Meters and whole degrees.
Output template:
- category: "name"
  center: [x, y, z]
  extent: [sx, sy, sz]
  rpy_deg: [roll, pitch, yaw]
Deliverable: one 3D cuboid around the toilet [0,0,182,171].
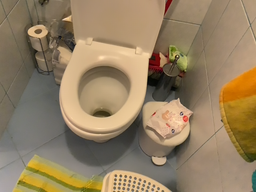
- category: "toilet"
  center: [-0.090, -0.150, 0.950]
  extent: [0.380, 0.810, 0.680]
  rpy_deg: [10, 55, -2]
